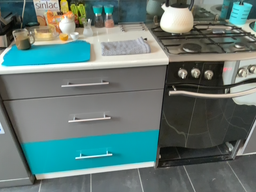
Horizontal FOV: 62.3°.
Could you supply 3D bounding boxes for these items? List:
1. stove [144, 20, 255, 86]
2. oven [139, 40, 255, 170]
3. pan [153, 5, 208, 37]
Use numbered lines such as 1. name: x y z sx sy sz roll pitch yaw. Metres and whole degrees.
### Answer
1. stove: 0.450 -0.300 1.300 0.590 0.150 0.600 -4 35 -7
2. oven: 0.440 0.040 1.540 0.590 0.690 0.600 -4 35 -7
3. pan: 0.310 -0.470 1.320 0.260 0.130 0.220 -3 35 -6
